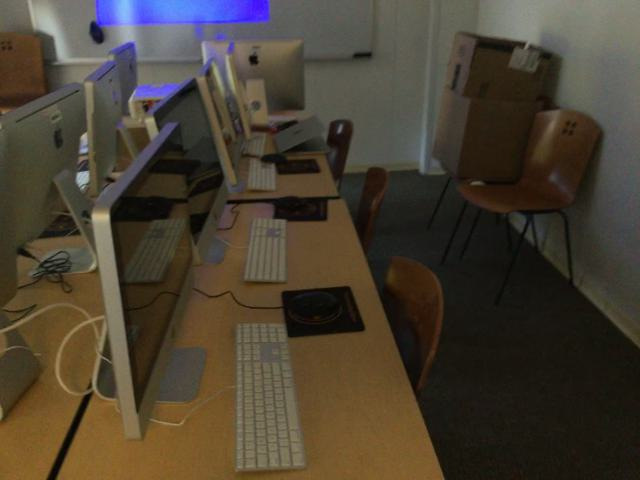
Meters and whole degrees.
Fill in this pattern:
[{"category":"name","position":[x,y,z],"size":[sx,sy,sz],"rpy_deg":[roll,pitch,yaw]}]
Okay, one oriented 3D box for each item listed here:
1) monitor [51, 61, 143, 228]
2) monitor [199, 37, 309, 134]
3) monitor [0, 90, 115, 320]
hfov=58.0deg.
[{"category":"monitor","position":[-0.710,-0.330,1.900],"size":[0.130,0.440,0.440],"rpy_deg":[-4,24,-7]},{"category":"monitor","position":[-0.310,-0.770,2.870],"size":[0.500,0.430,0.200],"rpy_deg":[-1,24,0]},{"category":"monitor","position":[-0.690,-0.120,1.450],"size":[0.140,0.400,0.550],"rpy_deg":[-4,25,-3]}]
